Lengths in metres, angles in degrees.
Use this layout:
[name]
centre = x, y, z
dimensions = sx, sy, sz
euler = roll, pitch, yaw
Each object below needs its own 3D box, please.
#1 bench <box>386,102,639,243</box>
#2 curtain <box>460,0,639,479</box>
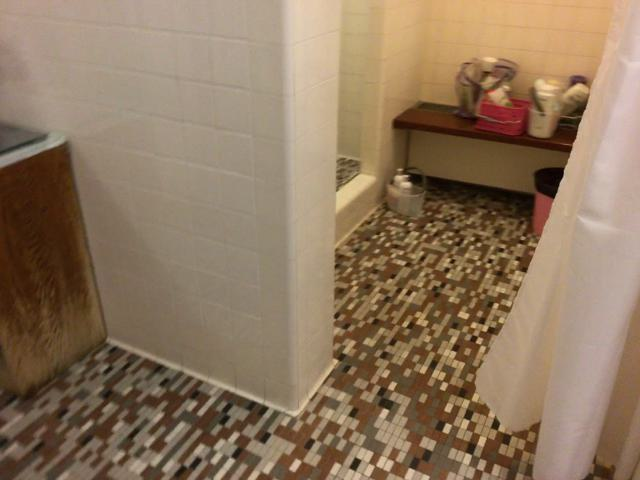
[bench]
centre = 1.090, -0.330, 2.720
dimensions = 1.480, 0.360, 0.430
euler = 14, 31, 25
[curtain]
centre = 0.610, -0.140, 1.170
dimensions = 0.300, 1.700, 0.330
euler = -15, 31, -27
